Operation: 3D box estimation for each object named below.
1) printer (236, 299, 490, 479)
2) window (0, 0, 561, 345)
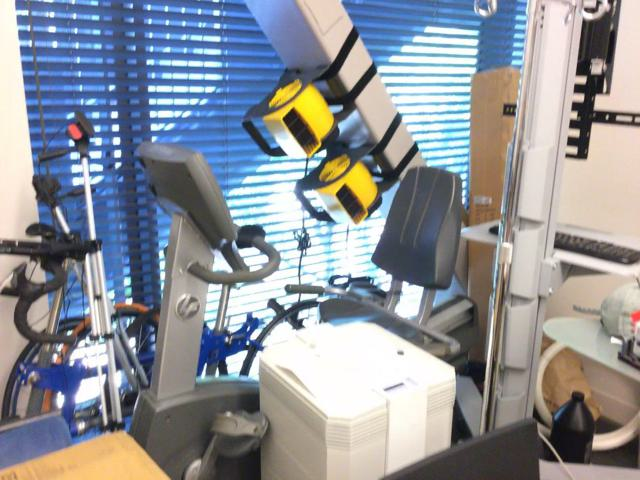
[{"bbox_3d":[0.080,0.630,1.520,0.410,0.800,0.520,-5,11,-32],"label":"printer"},{"bbox_3d":[0.060,-0.590,2.450,2.410,1.490,0.410,-9,13,-31],"label":"window"}]
